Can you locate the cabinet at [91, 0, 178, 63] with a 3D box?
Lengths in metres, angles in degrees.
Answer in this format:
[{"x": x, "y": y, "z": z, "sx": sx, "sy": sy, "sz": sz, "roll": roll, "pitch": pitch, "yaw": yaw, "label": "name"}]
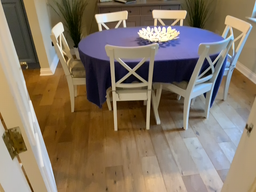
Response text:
[{"x": 0.080, "y": -1.110, "z": 3.580, "sx": 1.310, "sy": 0.860, "sz": 0.510, "roll": -6, "pitch": 34, "yaw": -8, "label": "cabinet"}]
